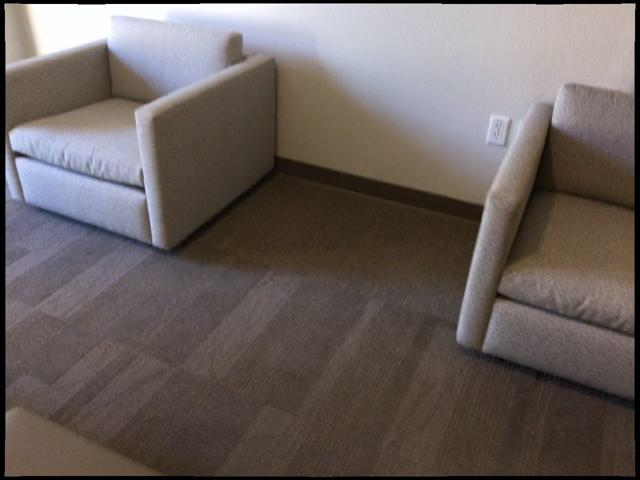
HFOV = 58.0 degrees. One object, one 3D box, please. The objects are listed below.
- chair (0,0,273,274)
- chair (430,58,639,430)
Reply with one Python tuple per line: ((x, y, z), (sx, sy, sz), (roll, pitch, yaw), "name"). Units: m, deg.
((-0.908, -0.561, 2.510), (1.068, 0.711, 0.980), (17, 38, 18), "chair")
((0.988, -0.030, 1.930), (0.899, 0.741, 0.940), (17, 38, 18), "chair")
